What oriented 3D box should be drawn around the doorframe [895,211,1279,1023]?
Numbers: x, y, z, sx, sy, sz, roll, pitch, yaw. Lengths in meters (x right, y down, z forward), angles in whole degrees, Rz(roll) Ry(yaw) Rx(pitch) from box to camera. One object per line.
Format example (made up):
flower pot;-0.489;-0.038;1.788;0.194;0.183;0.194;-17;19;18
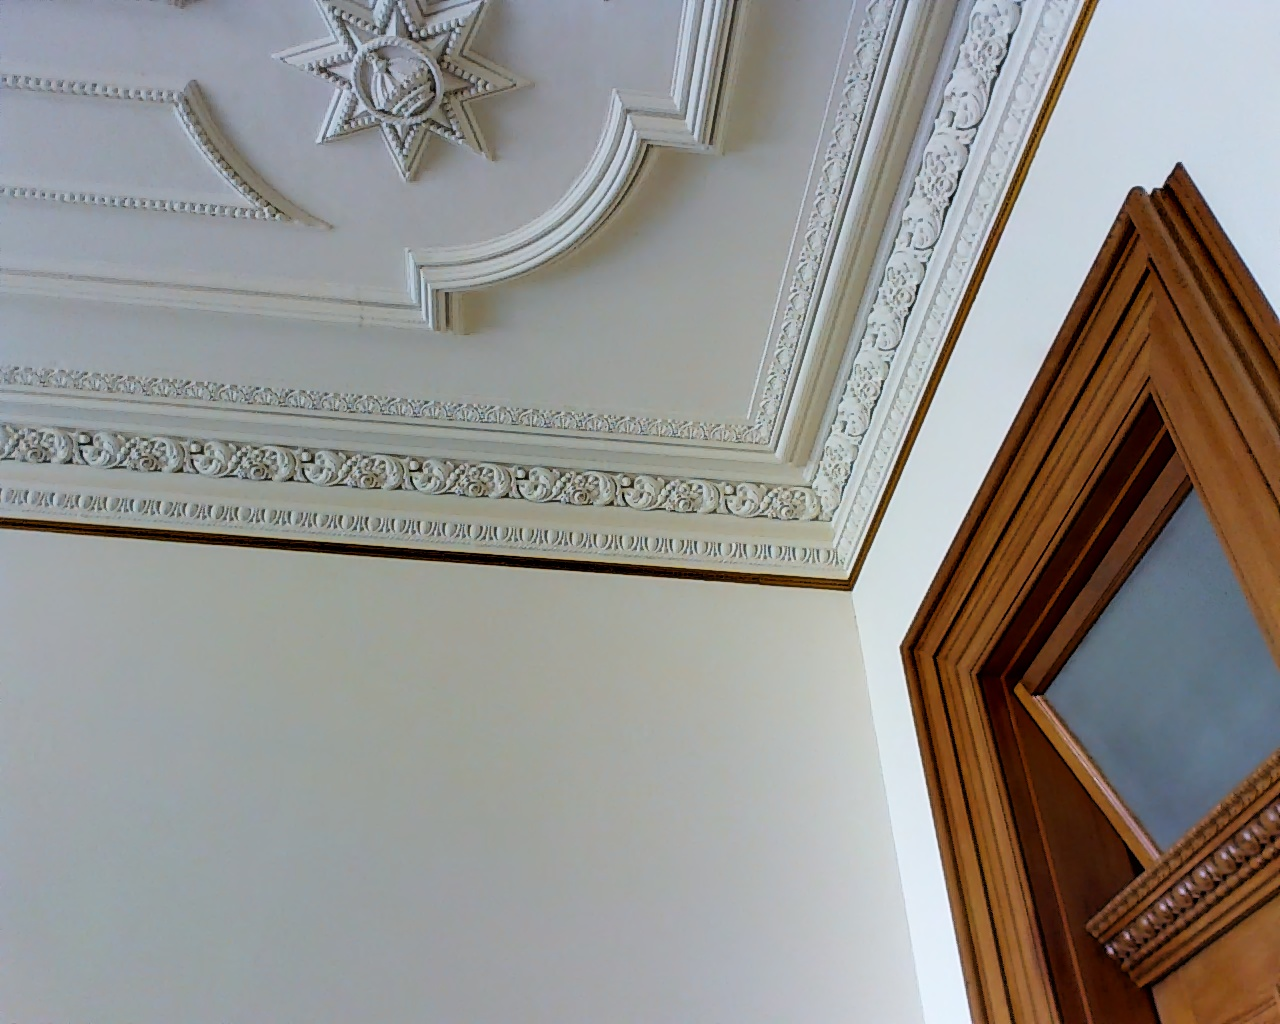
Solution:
doorframe;0.920;1.120;1.380;0.330;3.191;1.400;4;-43;-4
